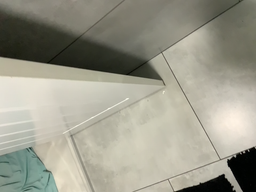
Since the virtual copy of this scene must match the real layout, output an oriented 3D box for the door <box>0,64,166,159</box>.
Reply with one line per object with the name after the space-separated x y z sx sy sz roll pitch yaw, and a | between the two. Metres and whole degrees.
-0.550 0.140 0.330 0.790 1.990 0.030 -27 80 23 | door
